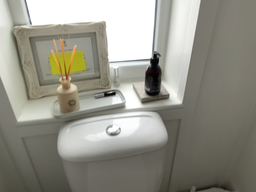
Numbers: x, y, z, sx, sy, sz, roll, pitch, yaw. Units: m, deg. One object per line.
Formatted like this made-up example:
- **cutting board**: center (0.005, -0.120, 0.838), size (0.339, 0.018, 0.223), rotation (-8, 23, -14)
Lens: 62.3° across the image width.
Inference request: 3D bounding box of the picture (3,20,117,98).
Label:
- **picture**: center (-0.210, -0.120, 0.750), size (0.330, 0.280, 0.030), rotation (-8, 48, -14)
